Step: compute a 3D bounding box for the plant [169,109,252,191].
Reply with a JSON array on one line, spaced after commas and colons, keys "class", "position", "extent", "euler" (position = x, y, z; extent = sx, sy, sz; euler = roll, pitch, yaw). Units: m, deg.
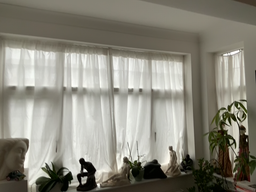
[{"class": "plant", "position": [0.890, 0.980, 2.280], "extent": [0.660, 1.660, 0.520], "euler": [0, -3, -32]}]
